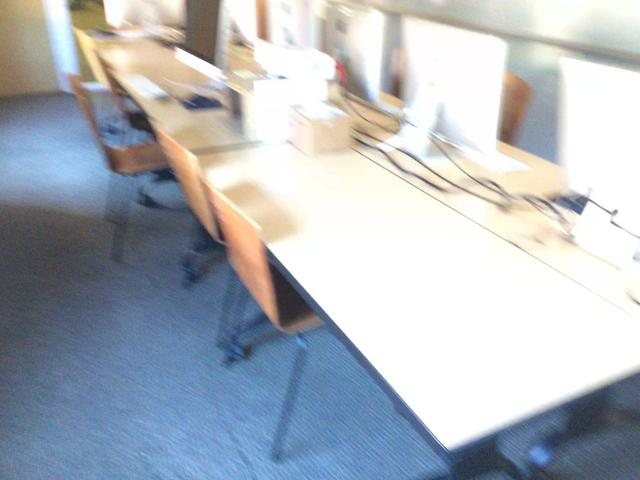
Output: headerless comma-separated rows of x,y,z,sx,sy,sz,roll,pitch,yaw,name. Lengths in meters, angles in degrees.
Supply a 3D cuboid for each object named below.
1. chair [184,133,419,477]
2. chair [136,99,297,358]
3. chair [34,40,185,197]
-0.080,0.170,1.780,0.460,0.820,0.510,-14,32,-26,chair
-0.380,-0.060,2.200,0.420,0.800,0.460,-14,32,-26,chair
-0.960,-0.580,2.650,0.490,0.540,0.500,-14,32,-26,chair
